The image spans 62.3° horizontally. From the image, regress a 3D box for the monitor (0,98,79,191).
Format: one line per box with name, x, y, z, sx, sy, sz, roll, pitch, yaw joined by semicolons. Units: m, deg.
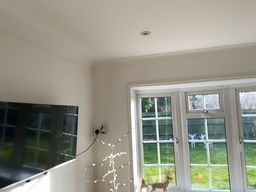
monitor;-0.610;0.310;1.580;0.040;0.510;0.900;0;-6;15
